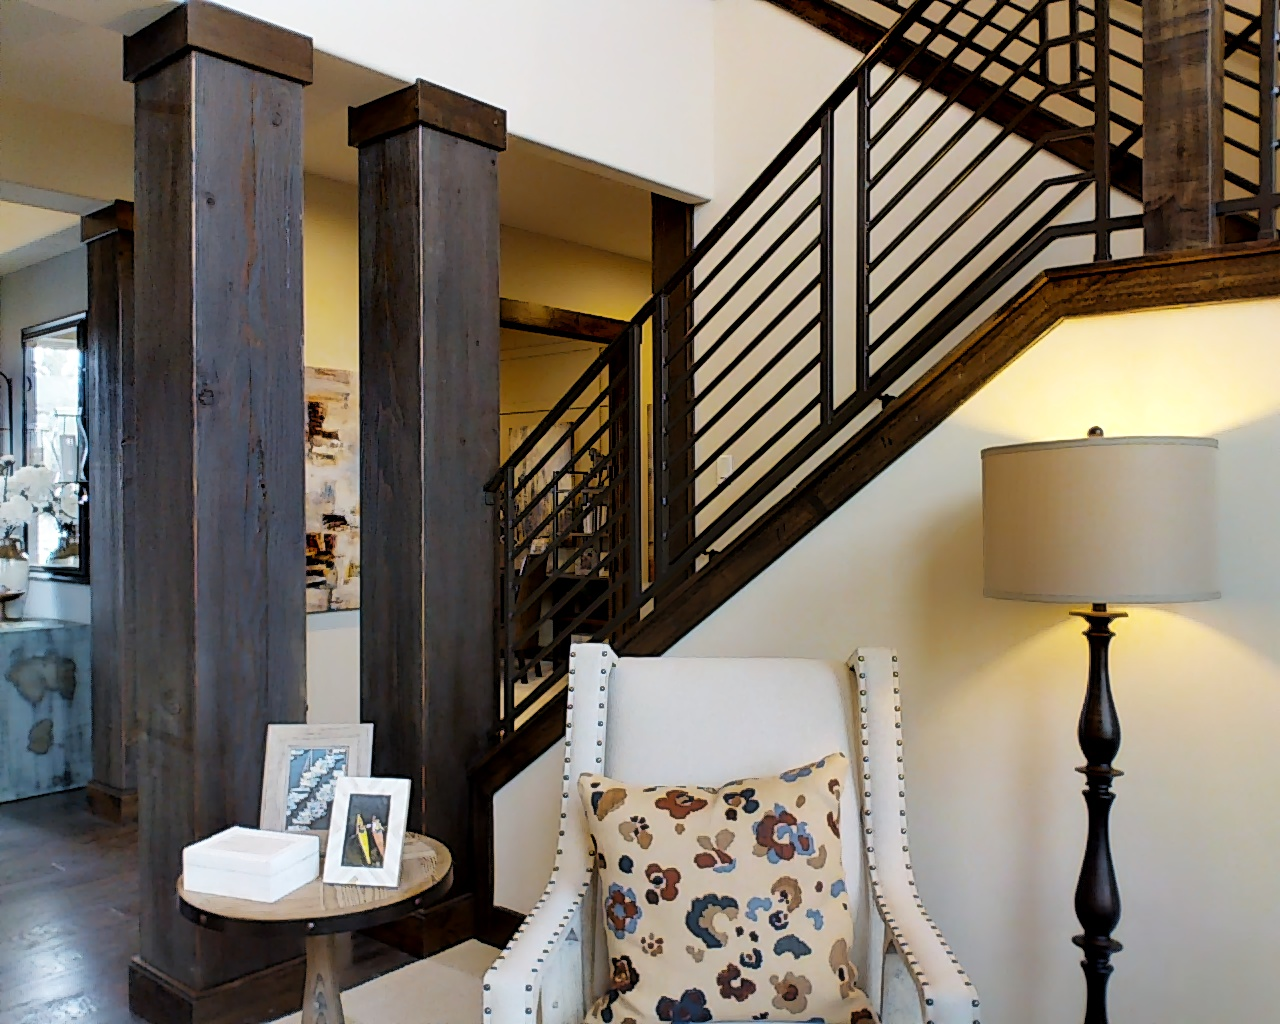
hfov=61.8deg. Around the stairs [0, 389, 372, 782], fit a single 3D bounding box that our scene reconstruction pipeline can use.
[{"bbox_3d":[-2.630,0.300,5.820,1.260,1.670,2.290,0,1,17],"label":"stairs"}]
